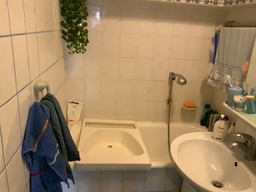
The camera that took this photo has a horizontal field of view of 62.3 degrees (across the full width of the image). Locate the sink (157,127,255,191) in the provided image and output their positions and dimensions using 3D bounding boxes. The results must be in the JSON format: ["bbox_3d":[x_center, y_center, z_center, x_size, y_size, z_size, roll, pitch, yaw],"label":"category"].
[{"bbox_3d":[0.490,0.400,1.200,0.500,0.180,0.600,2,18,-7],"label":"sink"}]

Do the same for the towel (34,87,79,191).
[{"bbox_3d":[-0.340,0.260,1.080,0.140,0.540,0.330,2,18,-7],"label":"towel"}]

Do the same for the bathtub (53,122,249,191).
[{"bbox_3d":[0.140,0.640,1.850,1.370,0.570,0.680,2,18,-8],"label":"bathtub"}]
